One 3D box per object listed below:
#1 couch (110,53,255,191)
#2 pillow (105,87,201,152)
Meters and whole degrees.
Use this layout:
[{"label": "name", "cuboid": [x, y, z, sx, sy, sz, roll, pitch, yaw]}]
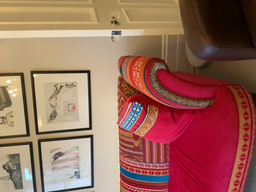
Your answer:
[{"label": "couch", "cuboid": [0.360, 0.870, 1.870, 1.210, 0.770, 2.420, -138, 46, -72]}, {"label": "pillow", "cuboid": [0.160, 0.200, 1.510, 0.490, 0.470, 0.160, -39, 32, 51]}]
